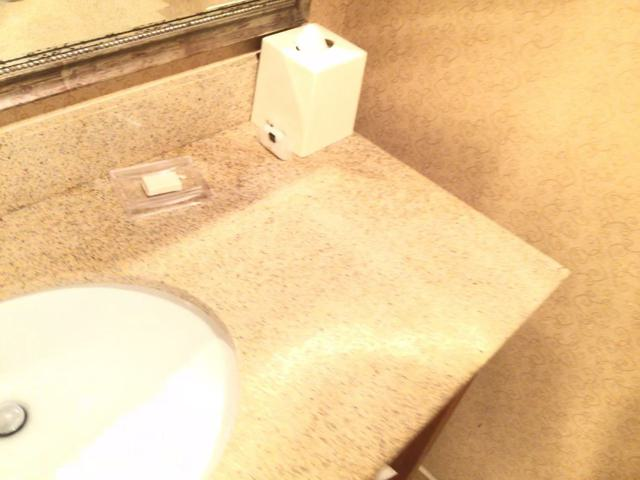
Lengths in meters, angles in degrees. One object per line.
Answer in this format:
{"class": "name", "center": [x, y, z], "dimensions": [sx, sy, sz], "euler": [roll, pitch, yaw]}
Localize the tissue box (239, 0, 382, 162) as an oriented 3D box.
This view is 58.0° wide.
{"class": "tissue box", "center": [-0.020, -0.250, 0.900], "dimensions": [0.140, 0.170, 0.150], "euler": [37, 49, 27]}
